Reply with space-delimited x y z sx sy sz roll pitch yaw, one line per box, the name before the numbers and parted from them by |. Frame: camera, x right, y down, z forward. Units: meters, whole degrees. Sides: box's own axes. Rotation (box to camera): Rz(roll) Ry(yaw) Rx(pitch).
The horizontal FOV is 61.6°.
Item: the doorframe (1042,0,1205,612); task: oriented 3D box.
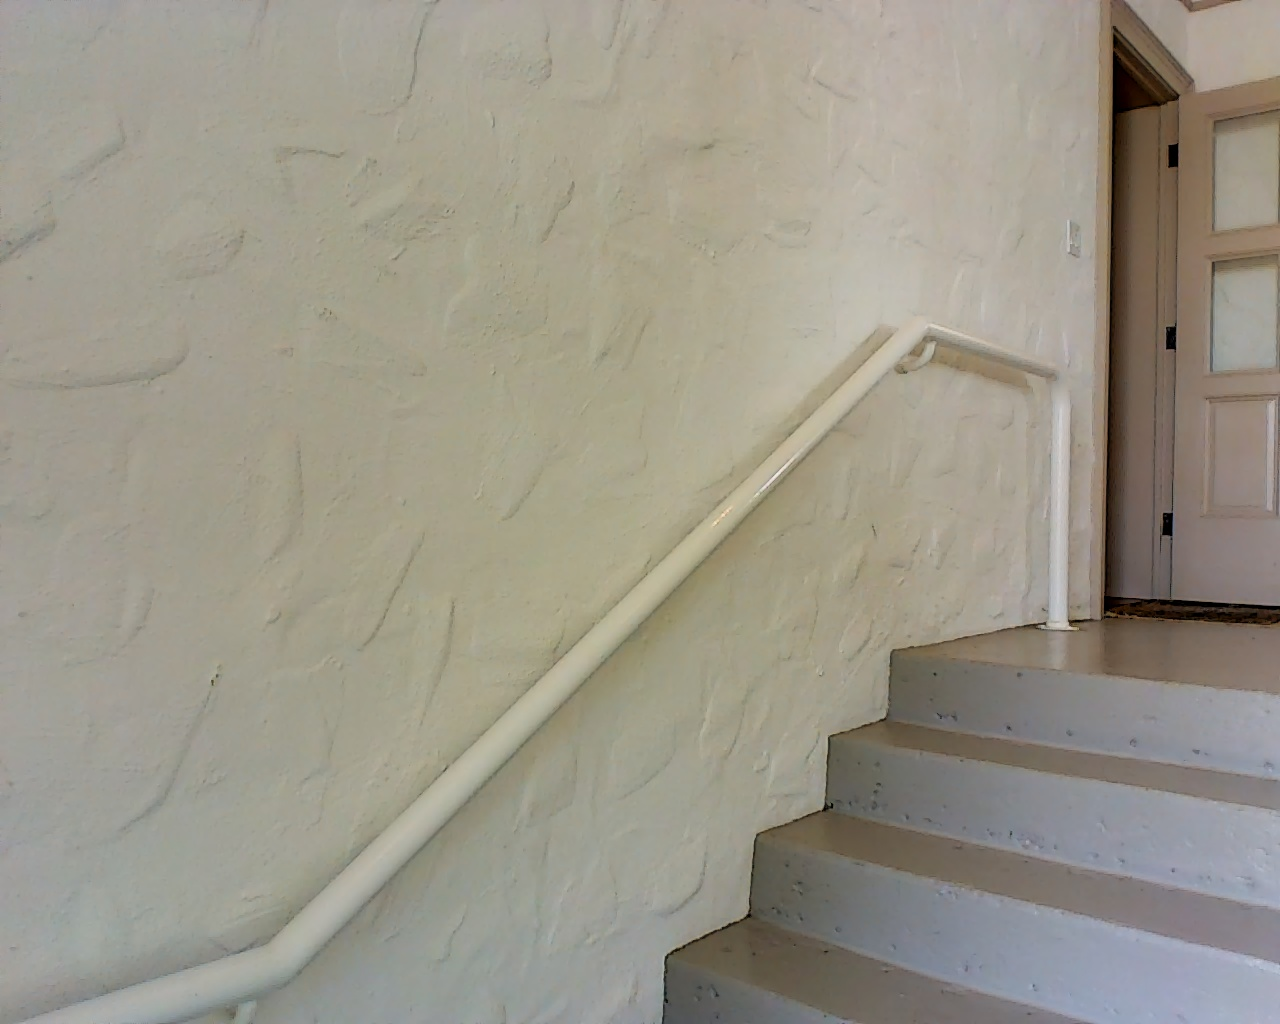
doorframe | 2.070 -0.800 4.540 0.280 2.360 1.080 1 0 41
